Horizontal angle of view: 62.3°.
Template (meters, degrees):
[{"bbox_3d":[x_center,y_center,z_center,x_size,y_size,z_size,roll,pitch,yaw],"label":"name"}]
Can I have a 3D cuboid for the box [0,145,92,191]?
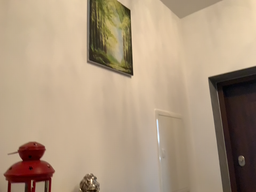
[{"bbox_3d":[-0.240,0.240,0.570,0.180,0.200,0.220,-13,-18,36],"label":"box"}]
